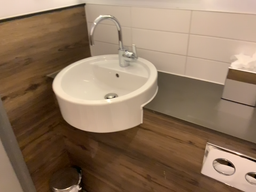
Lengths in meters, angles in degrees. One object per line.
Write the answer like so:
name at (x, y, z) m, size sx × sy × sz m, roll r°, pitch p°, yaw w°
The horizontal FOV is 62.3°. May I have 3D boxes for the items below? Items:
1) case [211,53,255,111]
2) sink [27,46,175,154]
case at (0.430, -0.060, 0.840) m, size 0.130 × 0.170 × 0.130 m, roll 18°, pitch 36°, yaw 29°
sink at (-0.100, -0.040, 1.020) m, size 0.470 × 0.200 × 0.490 m, roll 18°, pitch 36°, yaw 28°
